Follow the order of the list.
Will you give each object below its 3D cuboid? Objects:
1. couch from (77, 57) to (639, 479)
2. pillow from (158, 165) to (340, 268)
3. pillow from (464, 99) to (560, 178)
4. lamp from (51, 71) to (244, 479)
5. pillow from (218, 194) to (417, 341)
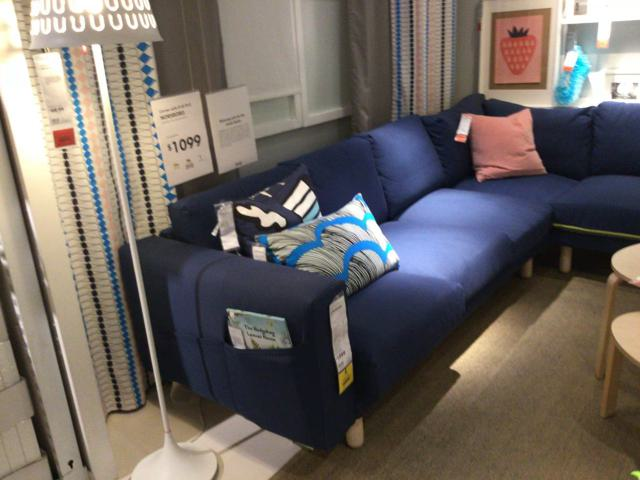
[{"bbox_3d":[1.050,-0.110,2.310,2.210,1.030,2.910,6,21,42],"label":"couch"},{"bbox_3d":[-0.250,-0.110,2.140,0.380,0.230,0.520,6,21,42],"label":"pillow"},{"bbox_3d":[1.090,-0.590,3.300,0.380,0.360,0.350,-11,16,-9],"label":"pillow"},{"bbox_3d":[-0.500,0.160,1.760,0.250,1.260,0.200,6,21,42],"label":"lamp"},{"bbox_3d":[0.020,0.060,2.040,0.300,0.280,0.670,6,21,42],"label":"pillow"}]
